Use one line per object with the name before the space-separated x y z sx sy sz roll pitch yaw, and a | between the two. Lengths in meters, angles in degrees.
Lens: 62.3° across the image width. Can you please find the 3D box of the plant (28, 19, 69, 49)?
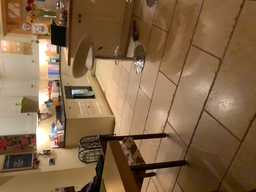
plant | -1.100 -0.860 2.950 0.260 0.510 0.310 -126 41 -57

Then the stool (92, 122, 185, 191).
stool | 0.050 0.720 2.140 0.560 0.670 0.680 -123 39 -55

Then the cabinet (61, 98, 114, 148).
cabinet | -0.830 0.490 4.160 0.750 0.870 0.630 -123 38 -55
